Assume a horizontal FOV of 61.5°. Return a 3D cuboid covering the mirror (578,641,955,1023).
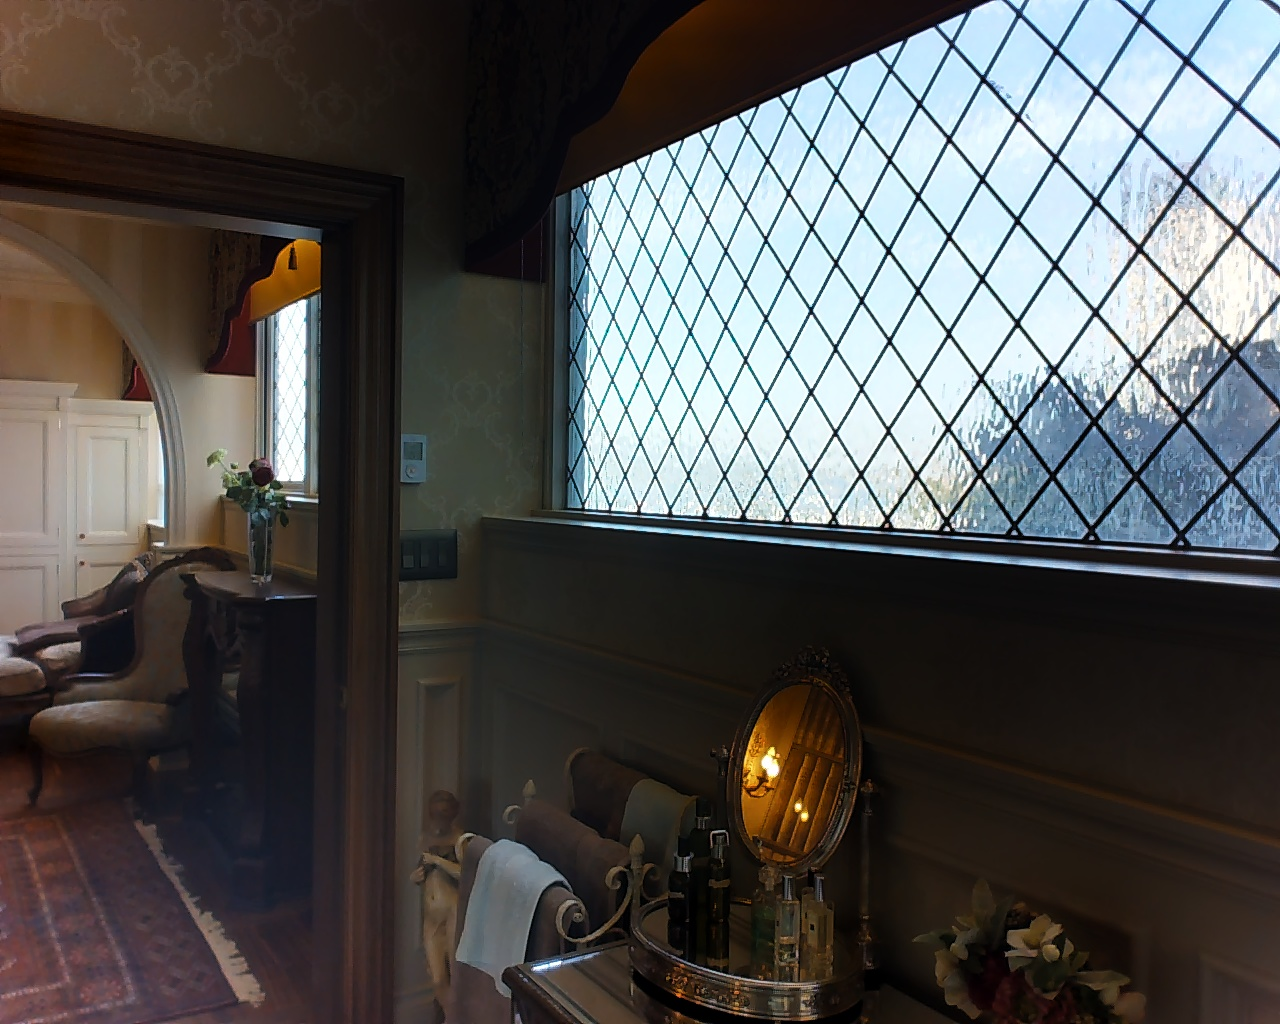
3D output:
[{"bbox_3d":[0.170,0.440,1.540,0.380,0.440,0.370,0,2,-32],"label":"mirror"}]
